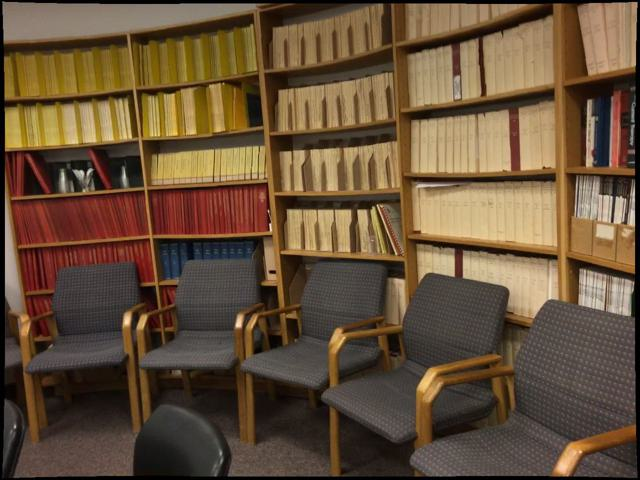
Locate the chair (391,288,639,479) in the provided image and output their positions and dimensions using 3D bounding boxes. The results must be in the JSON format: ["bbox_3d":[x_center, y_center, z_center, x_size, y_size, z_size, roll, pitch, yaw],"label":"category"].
[{"bbox_3d":[0.758,0.722,1.930,0.769,0.872,0.610,-12,13,-31],"label":"chair"}]

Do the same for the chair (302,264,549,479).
[{"bbox_3d":[0.479,0.652,2.520,0.869,0.872,0.599,-11,13,-35],"label":"chair"}]

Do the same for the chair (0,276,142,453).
[{"bbox_3d":[-1.476,0.692,3.400,0.599,0.752,0.630,-8,10,-6],"label":"chair"}]

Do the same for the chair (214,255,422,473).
[{"bbox_3d":[0.010,0.571,3.040,0.689,0.812,0.759,2,13,41],"label":"chair"}]

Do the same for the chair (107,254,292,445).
[{"bbox_3d":[-0.648,0.592,3.330,0.698,0.862,0.680,-4,10,17],"label":"chair"}]
